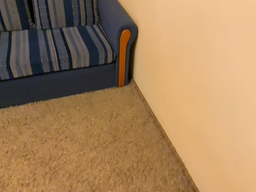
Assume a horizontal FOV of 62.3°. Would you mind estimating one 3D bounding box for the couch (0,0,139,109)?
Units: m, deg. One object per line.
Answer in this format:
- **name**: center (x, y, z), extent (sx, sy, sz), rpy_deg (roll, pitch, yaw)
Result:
- **couch**: center (-0.800, -0.470, 1.810), extent (1.530, 0.600, 0.880), rpy_deg (-11, 46, -15)
